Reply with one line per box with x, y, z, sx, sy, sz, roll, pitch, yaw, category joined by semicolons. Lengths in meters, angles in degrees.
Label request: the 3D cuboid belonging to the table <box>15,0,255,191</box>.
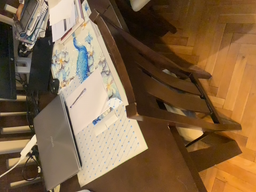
-0.040;0.020;1.370;0.870;0.770;1.720;-38;62;31;table
